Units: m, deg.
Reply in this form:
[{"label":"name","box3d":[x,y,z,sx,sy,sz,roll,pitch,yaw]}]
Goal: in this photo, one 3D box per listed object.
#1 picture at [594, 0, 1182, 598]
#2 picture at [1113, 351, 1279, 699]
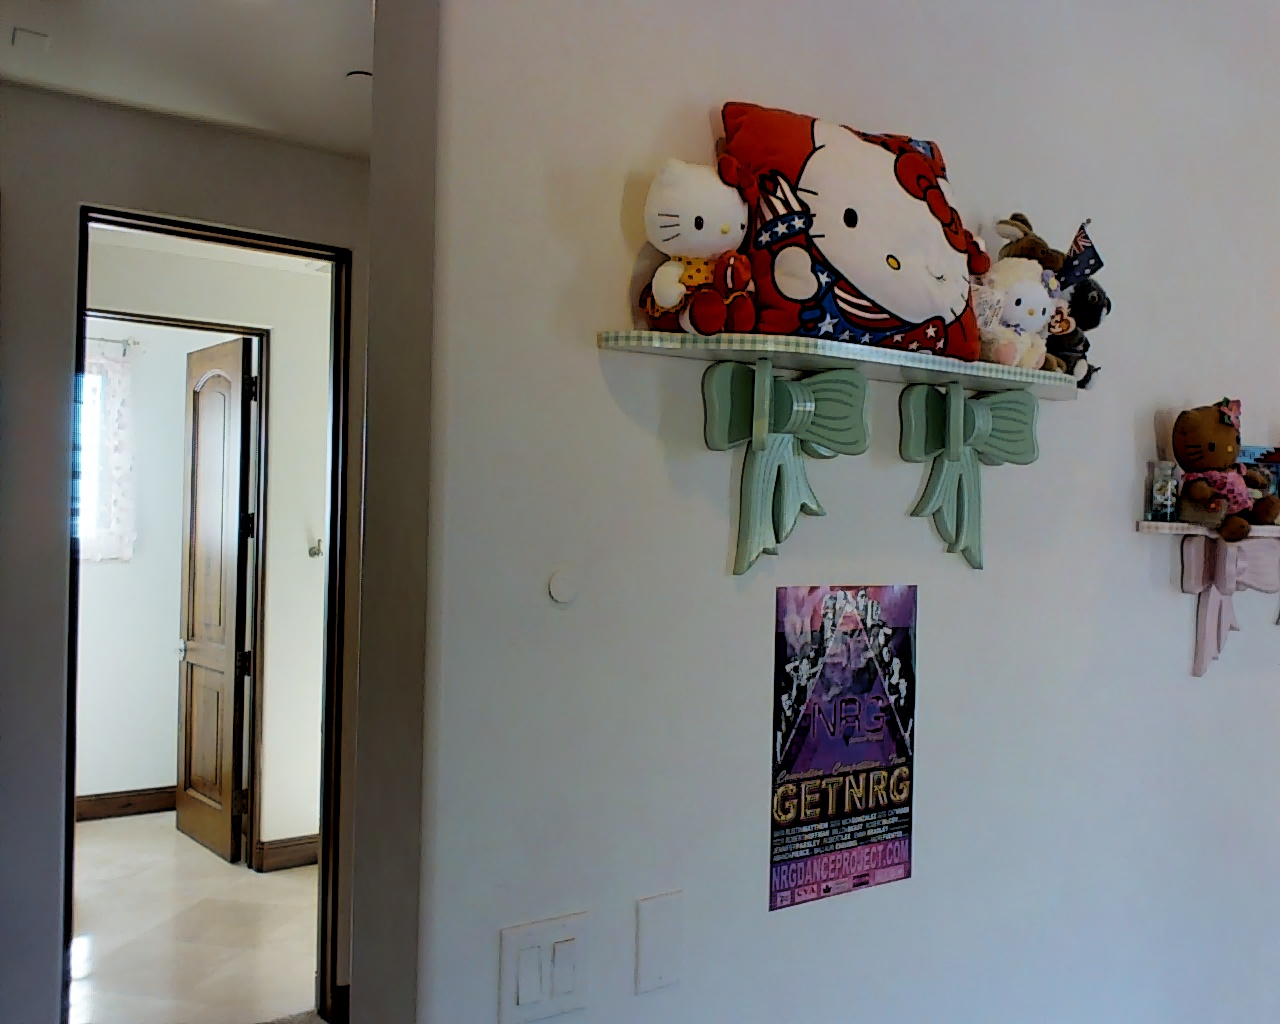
[{"label":"picture","box3d":[0.380,-0.230,1.430,0.900,0.650,0.210,1,0,-36]},{"label":"picture","box3d":[1.280,0.030,2.100,0.960,0.570,0.170,1,0,-36]}]
